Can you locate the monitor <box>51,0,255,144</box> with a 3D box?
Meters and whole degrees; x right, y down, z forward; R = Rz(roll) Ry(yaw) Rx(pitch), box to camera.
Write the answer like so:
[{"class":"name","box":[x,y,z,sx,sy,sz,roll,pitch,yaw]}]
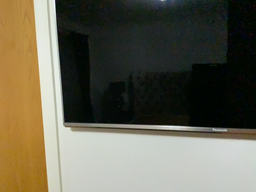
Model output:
[{"class":"monitor","box":[0.300,-0.200,0.610,1.180,0.670,0.050,0,6,18]}]
